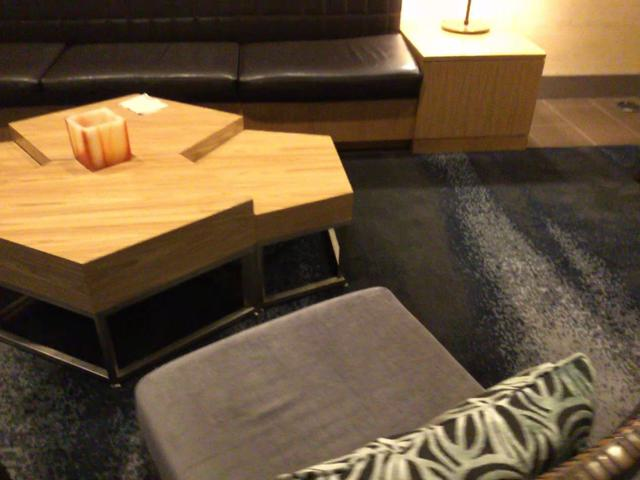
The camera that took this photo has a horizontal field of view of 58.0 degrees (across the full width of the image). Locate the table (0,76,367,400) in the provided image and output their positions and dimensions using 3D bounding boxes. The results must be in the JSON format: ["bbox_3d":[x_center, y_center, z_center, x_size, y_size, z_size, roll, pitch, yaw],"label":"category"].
[{"bbox_3d":[-0.720,-0.100,2.050,1.600,0.500,1.220,-3,34,-3],"label":"table"}]

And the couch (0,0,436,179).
[{"bbox_3d":[-0.880,-0.890,2.840,2.710,0.880,0.690,-4,34,-3],"label":"couch"}]

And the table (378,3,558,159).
[{"bbox_3d":[0.710,-0.870,3.060,0.650,0.520,0.850,-4,34,-3],"label":"table"}]
